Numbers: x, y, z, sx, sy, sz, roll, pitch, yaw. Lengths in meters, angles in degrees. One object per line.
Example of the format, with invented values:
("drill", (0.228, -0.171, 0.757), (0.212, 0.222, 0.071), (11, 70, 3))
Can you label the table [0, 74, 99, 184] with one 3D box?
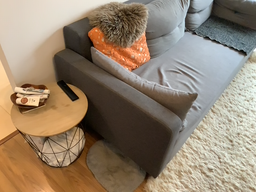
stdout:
("table", (-0.490, 0.210, 1.430), (0.410, 0.450, 0.410), (33, 50, 25))

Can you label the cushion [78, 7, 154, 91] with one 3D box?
("cushion", (-0.080, -0.370, 1.610), (0.270, 0.390, 0.500), (31, 49, 24))
